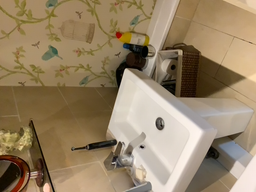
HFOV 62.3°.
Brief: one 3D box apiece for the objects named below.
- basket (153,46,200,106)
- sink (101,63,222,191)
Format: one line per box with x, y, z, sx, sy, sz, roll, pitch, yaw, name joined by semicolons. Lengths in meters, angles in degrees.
0.370;-0.160;1.640;0.240;0.190;0.420;17;105;54;basket
0.090;0.150;1.000;0.530;0.140;0.430;44;126;45;sink
